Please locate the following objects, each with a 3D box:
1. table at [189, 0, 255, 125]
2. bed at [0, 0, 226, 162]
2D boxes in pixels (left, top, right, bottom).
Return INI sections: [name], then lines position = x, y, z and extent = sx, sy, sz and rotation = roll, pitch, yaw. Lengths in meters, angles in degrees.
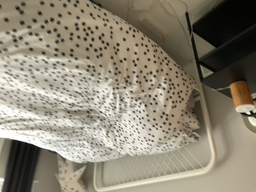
[table]
position = 0.750, -0.270, 1.290
extent = 0.440, 0.700, 0.450
rotation = 22, 143, -34
[bed]
position = -0.730, -0.110, 1.630
extent = 2.230, 0.590, 1.780
rotation = 22, 143, -34
